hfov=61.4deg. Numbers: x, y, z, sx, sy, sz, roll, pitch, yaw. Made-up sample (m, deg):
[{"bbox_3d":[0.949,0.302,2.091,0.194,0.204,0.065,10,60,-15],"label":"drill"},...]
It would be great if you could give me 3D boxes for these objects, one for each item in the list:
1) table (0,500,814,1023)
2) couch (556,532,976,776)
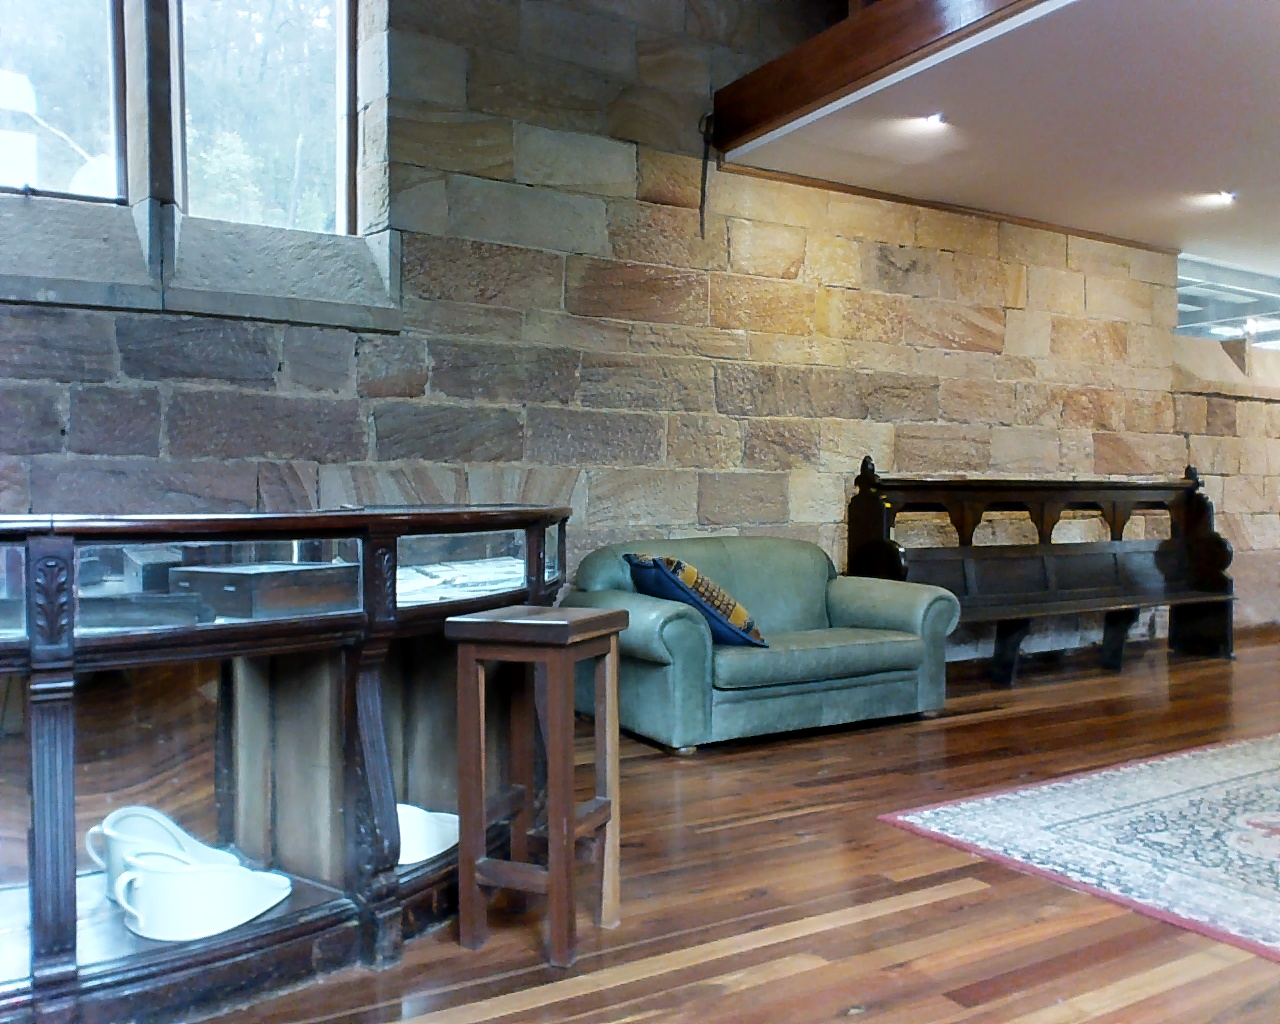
[{"bbox_3d":[-1.589,0.560,2.840,3.579,1.141,2.000,-1,1,-30],"label":"table"},{"bbox_3d":[0.610,0.590,5.210,1.749,0.910,1.020,-1,1,-30],"label":"couch"}]
